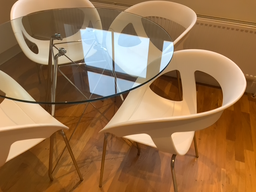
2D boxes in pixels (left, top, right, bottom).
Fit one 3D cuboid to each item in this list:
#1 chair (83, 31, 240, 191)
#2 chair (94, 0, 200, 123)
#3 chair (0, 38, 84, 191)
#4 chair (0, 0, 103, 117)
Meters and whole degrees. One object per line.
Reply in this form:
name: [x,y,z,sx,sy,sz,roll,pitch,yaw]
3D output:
chair: [0.180,0.170,1.140,0.520,0.750,0.610,16,41,15]
chair: [0.110,-0.310,1.700,0.530,0.780,0.500,-23,46,-28]
chair: [-0.640,0.230,1.020,0.590,0.740,0.520,32,47,30]
chair: [-0.590,-0.370,1.730,0.550,0.780,0.530,-21,45,-27]
